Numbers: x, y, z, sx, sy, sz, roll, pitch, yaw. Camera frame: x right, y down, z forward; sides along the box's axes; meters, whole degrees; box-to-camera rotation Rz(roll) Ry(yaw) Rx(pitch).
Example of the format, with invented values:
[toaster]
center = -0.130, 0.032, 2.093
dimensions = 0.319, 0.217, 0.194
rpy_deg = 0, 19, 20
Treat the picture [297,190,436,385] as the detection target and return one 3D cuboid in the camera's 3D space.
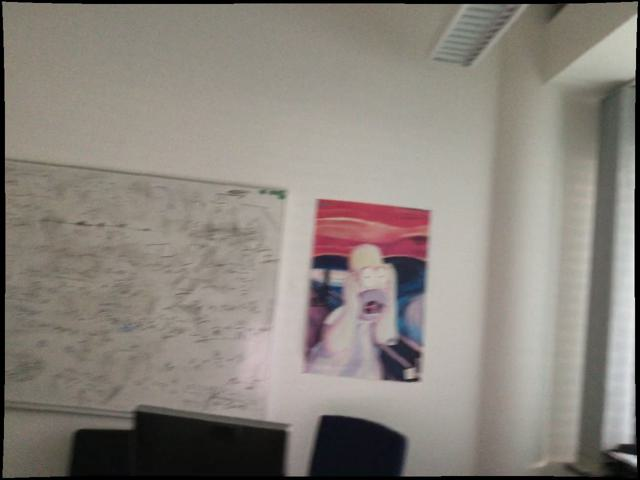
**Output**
[picture]
center = 0.230, 0.230, 2.870
dimensions = 0.609, 0.901, 0.100
rpy_deg = 5, -2, 2
